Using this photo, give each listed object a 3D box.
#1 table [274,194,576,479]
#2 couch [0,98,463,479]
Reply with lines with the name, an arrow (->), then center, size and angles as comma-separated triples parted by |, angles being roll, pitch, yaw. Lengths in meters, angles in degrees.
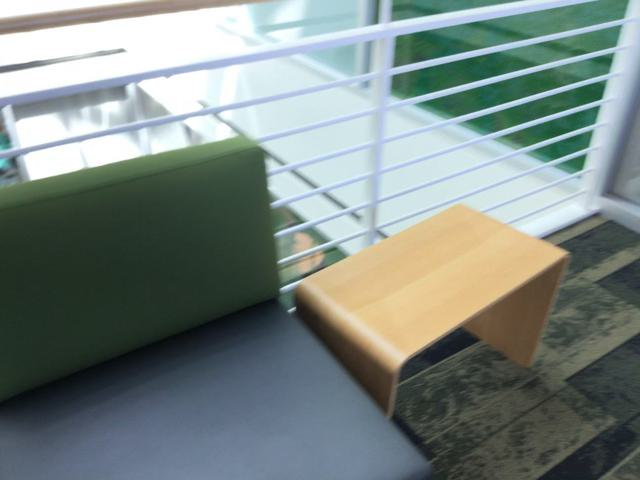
table -> 0.290, 0.240, 1.560 | 0.700, 0.450, 0.380 | -24, 35, -33
couch -> -0.270, 0.300, 1.090 | 0.740, 0.810, 0.740 | -23, 34, -22
